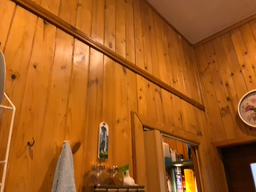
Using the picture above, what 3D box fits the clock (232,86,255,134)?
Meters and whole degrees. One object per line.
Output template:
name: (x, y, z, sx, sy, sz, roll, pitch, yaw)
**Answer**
clock: (1.000, 0.090, 1.630, 0.300, 0.340, 0.040, -21, -31, 36)
